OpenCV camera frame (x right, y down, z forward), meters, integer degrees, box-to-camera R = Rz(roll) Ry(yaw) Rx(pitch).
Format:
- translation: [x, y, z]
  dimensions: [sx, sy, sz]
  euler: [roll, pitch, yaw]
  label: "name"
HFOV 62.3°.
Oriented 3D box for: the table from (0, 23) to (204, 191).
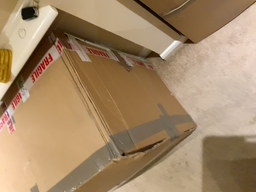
- translation: [-0.230, 0.250, 1.060]
  dimensions: [0.860, 0.680, 0.550]
  euler: [-42, 68, 25]
  label: "table"
